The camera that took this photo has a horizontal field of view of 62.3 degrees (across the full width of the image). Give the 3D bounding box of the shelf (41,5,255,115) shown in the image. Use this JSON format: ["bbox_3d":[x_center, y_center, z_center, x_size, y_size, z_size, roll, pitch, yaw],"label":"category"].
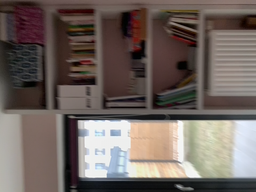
[{"bbox_3d":[0.510,-0.280,1.760,0.260,2.330,0.840,-89,-1,-86],"label":"shelf"}]
